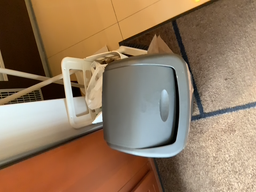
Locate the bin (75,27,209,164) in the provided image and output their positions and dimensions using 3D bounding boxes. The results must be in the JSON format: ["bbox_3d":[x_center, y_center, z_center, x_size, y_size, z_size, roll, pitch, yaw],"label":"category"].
[{"bbox_3d":[0.110,0.000,0.820,0.300,0.530,0.330,-10,90,24],"label":"bin"}]
